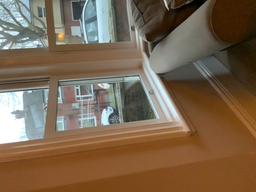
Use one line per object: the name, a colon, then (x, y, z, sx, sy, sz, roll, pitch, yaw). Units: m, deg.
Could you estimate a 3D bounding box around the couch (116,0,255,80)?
couch: (0.460, -1.010, 1.540, 1.080, 0.950, 1.600, 169, 96, -78)
